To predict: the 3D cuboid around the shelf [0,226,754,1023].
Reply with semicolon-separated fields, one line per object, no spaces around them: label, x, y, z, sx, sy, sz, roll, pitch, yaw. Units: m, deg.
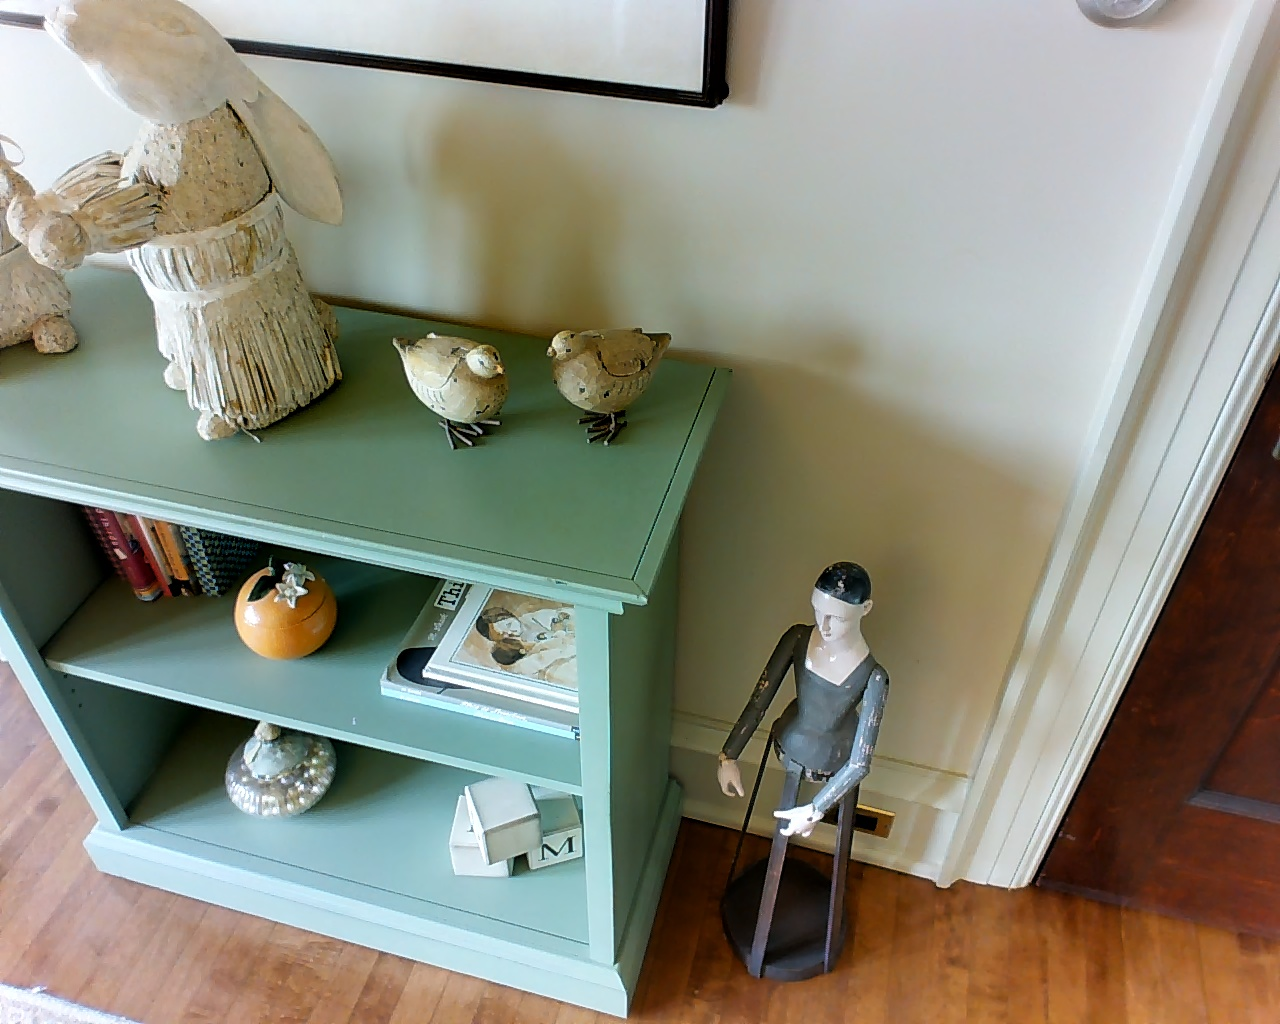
shelf;-0.400;0.190;1.480;0.980;0.930;0.410;10;42;11
